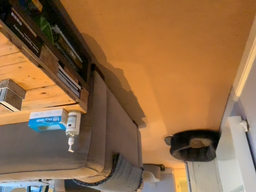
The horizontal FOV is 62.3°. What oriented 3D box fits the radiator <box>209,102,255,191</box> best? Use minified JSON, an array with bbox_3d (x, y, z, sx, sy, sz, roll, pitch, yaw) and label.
[{"bbox_3d":[0.920,0.620,1.970,0.150,0.650,1.230,-9,151,14],"label":"radiator"}]
